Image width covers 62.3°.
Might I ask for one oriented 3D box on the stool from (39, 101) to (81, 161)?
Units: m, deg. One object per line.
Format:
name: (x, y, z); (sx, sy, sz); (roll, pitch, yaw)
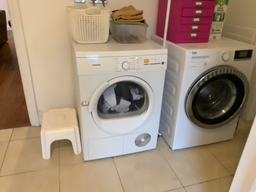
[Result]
stool: (-0.550, 0.260, 1.740); (0.270, 0.240, 0.450); (-5, 28, -16)
